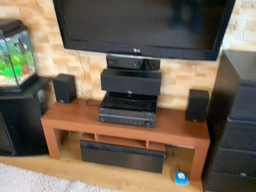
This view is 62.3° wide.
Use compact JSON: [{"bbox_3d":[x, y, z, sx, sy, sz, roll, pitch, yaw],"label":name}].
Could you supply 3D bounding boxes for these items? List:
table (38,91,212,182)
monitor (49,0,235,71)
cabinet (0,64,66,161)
[{"bbox_3d":[-0.030,0.330,1.880,1.320,0.470,0.410,6,31,8],"label":"table"},{"bbox_3d":[0.060,-0.510,1.230,1.020,0.680,0.080,-3,33,12],"label":"monitor"},{"bbox_3d":[-1.260,0.110,1.980,1.140,0.690,0.450,6,31,8],"label":"cabinet"}]
